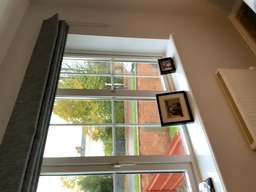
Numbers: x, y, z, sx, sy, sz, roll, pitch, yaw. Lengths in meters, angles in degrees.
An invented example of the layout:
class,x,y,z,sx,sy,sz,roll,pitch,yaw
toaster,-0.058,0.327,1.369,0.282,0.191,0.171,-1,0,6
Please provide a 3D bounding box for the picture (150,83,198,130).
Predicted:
class,x,y,z,sx,sy,sz,roll,pitch,yaw
picture,0.340,0.070,1.650,0.130,0.230,0.350,98,161,-44

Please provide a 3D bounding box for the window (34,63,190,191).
class,x,y,z,sx,sy,sz,roll,pitch,yaw
window,-0.110,0.420,1.570,0.150,0.960,1.880,99,169,-46
